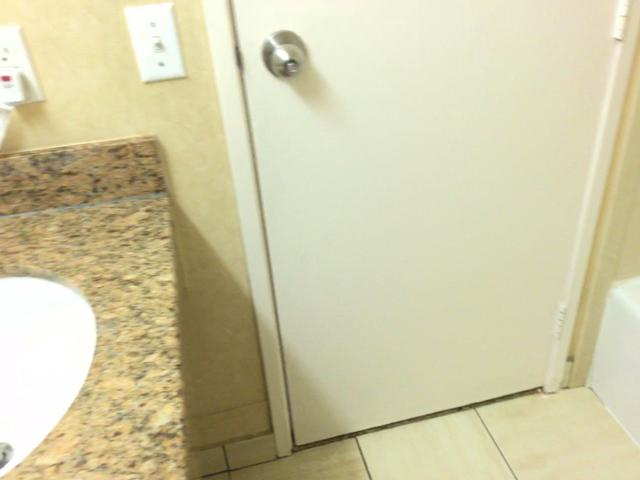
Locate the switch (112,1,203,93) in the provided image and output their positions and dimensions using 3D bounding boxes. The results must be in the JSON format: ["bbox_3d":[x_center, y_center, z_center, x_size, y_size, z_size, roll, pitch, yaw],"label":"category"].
[{"bbox_3d":[-0.250,-0.300,0.900,0.110,0.120,0.020,-12,33,-8],"label":"switch"}]

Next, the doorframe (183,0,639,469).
[{"bbox_3d":[0.230,-0.310,1.020,0.870,1.900,0.030,-12,33,-8],"label":"doorframe"}]
